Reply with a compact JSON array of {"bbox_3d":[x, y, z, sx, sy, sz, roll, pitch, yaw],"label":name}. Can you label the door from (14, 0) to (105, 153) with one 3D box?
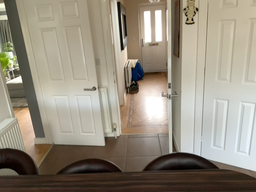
[{"bbox_3d":[-0.800,-0.190,2.680,0.820,2.060,0.080,-2,19,4],"label":"door"}]
